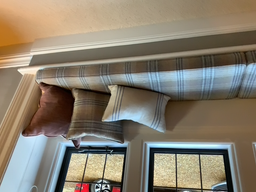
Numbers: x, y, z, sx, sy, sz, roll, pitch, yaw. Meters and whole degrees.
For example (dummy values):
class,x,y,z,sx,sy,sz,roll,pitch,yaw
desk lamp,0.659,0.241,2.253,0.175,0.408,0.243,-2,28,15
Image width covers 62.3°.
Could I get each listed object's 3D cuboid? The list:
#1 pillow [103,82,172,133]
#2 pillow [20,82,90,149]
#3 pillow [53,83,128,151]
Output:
class,x,y,z,sx,sy,sz,roll,pitch,yaw
pillow,0.060,0.080,1.420,0.420,0.230,0.190,7,148,-1
pillow,-0.490,0.150,1.510,0.280,0.370,0.290,-4,147,17
pillow,-0.250,0.160,1.500,0.430,0.330,0.200,19,146,-19
